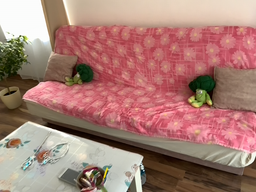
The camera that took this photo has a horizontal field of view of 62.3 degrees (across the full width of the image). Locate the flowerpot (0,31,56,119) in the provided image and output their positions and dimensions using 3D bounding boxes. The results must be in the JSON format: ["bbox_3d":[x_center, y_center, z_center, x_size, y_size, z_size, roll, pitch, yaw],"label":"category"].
[{"bbox_3d":[-1.460,-0.290,2.590,0.700,0.820,0.630,8,33,21],"label":"flowerpot"}]

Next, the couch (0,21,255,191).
[{"bbox_3d":[0.030,-0.110,1.920,2.050,0.880,0.960,10,34,25],"label":"couch"}]
